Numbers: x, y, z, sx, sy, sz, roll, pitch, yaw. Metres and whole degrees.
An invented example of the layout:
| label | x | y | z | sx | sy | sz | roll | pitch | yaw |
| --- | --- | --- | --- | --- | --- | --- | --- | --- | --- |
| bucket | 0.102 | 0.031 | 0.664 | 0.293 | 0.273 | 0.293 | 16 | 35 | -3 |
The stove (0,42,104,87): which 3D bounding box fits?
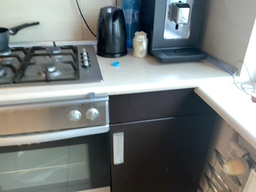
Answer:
| label | x | y | z | sx | sy | sz | roll | pitch | yaw |
| --- | --- | --- | --- | --- | --- | --- | --- | --- | --- |
| stove | -0.420 | -0.160 | 0.950 | 0.570 | 0.010 | 0.490 | -5 | 30 | -11 |
